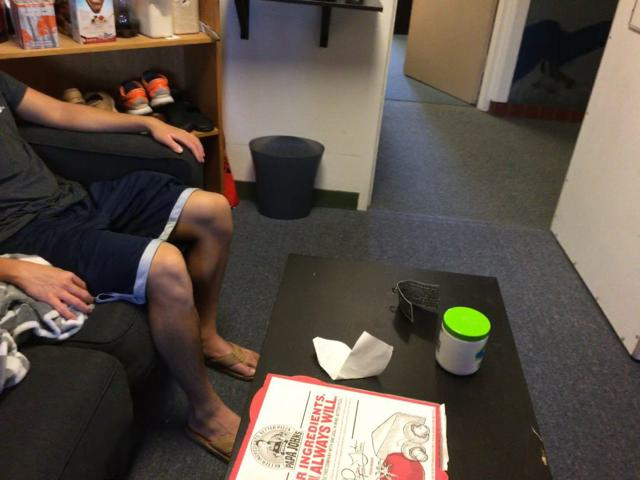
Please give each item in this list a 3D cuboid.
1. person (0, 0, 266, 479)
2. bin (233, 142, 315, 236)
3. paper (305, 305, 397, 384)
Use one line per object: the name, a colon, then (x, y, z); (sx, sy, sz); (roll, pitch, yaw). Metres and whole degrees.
person: (-0.710, -0.090, 1.440); (1.060, 1.140, 0.750); (4, 28, 0)
bin: (-0.200, -0.230, 2.570); (0.330, 0.320, 0.250); (4, 28, 0)
paper: (0.060, 0.210, 1.170); (0.170, 0.100, 0.110); (4, 28, 0)
